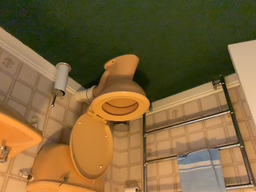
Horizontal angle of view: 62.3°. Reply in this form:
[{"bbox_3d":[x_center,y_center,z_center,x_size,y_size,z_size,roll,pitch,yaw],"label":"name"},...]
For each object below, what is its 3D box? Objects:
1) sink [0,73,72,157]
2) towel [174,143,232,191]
[{"bbox_3d":[-0.670,0.090,1.040,0.420,0.180,0.620,-21,140,28],"label":"sink"},{"bbox_3d":[0.510,0.530,1.500,0.330,0.310,0.080,-21,140,28],"label":"towel"}]
